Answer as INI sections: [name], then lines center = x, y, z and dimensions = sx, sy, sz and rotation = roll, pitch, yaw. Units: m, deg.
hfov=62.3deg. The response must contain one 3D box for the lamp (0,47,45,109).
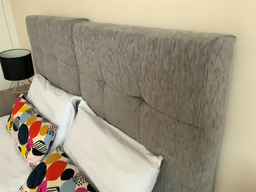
[lamp]
center = -0.950, -0.170, 1.870
dimensions = 0.250, 0.430, 0.310
rotation = -18, 30, -32
